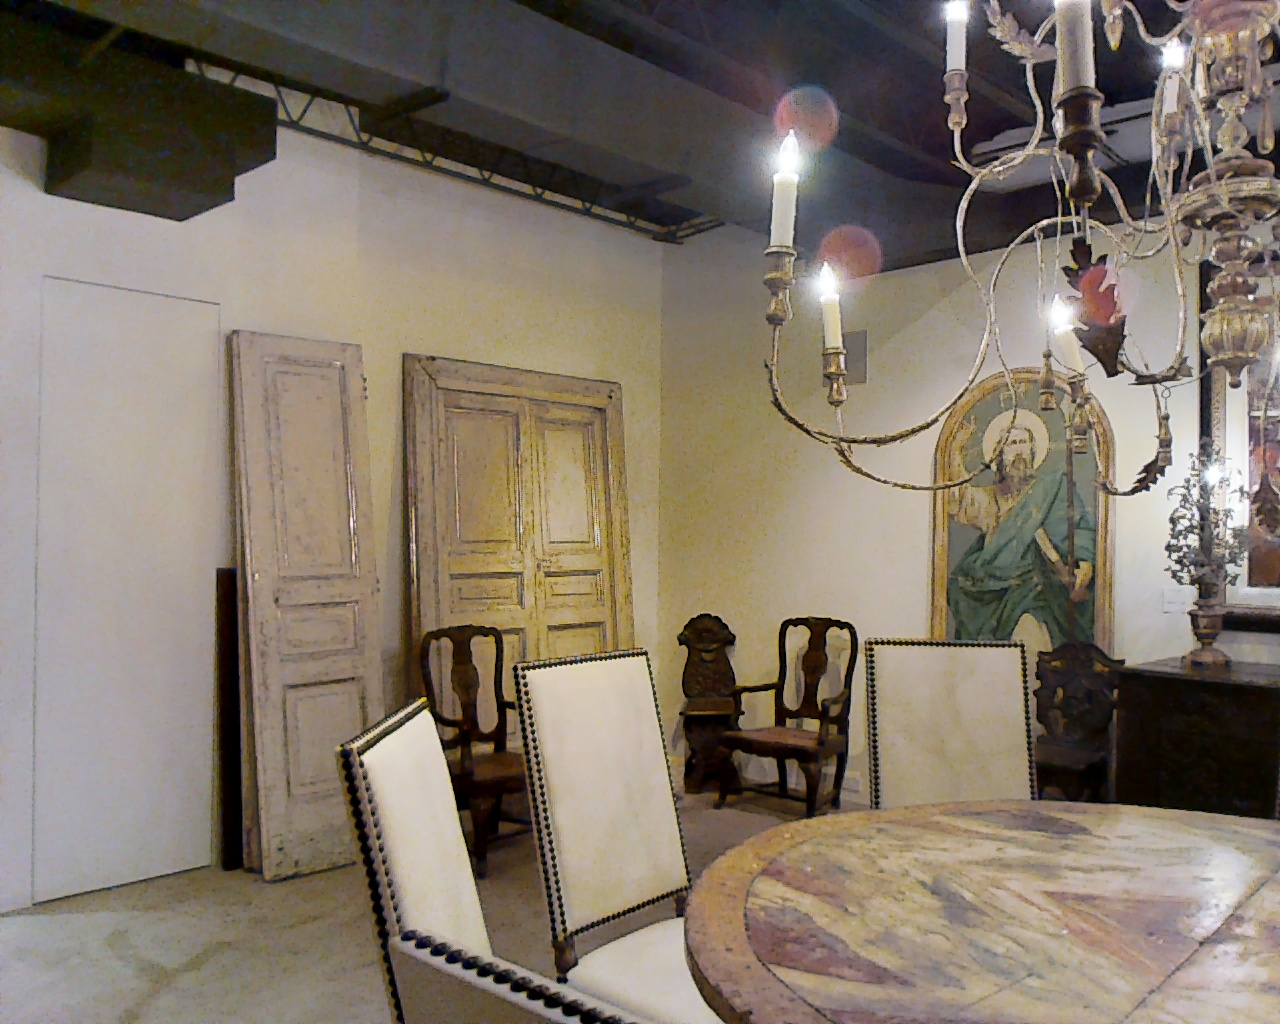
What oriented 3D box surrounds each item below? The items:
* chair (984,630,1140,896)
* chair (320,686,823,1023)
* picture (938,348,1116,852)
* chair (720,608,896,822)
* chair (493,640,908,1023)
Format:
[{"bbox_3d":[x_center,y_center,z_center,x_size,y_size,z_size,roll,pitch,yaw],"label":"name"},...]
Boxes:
[{"bbox_3d":[1.860,1.060,4.720,0.440,1.010,0.560,0,-1,45],"label":"chair"},{"bbox_3d":[-0.110,0.930,1.910,0.740,1.130,0.640,1,-1,-1],"label":"chair"},{"bbox_3d":[1.880,0.410,5.280,0.870,2.330,0.050,0,1,45],"label":"picture"},{"bbox_3d":[0.910,1.050,5.810,0.640,0.990,0.700,0,-1,45],"label":"chair"},{"bbox_3d":[0.140,0.940,2.670,0.800,1.130,0.630,0,-1,45],"label":"chair"}]
